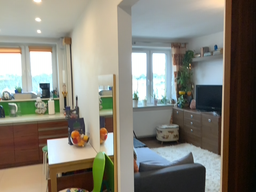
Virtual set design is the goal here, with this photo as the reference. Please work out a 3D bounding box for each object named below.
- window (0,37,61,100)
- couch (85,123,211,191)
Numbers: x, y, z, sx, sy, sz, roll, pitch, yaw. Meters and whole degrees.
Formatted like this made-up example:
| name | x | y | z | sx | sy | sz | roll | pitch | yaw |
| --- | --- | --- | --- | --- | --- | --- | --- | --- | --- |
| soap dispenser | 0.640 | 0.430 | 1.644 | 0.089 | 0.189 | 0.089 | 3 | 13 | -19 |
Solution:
| name | x | y | z | sx | sy | sz | roll | pitch | yaw |
| --- | --- | --- | --- | --- | --- | --- | --- | --- | --- |
| window | -2.200 | -0.560 | 4.410 | 1.510 | 1.250 | 0.130 | -2 | 6 | -21 |
| couch | 0.110 | 0.920 | 2.830 | 1.060 | 0.730 | 1.560 | -2 | 6 | -21 |
